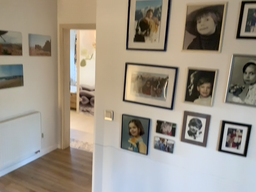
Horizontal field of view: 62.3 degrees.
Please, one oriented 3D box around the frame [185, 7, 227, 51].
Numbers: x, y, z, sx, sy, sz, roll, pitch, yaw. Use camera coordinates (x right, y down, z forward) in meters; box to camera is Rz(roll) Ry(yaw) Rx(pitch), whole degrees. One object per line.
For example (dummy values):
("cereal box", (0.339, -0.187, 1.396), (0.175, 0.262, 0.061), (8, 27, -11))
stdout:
("frame", (0.510, -0.440, 1.410), (0.230, 0.270, 0.030), (9, 12, 25))
